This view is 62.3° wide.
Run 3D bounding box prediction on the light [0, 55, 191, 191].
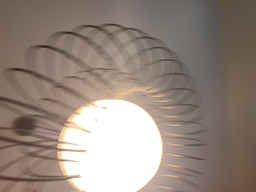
[{"bbox_3d":[-0.160,0.150,0.650,0.670,0.350,0.320,-27,-162,-37],"label":"light"}]
